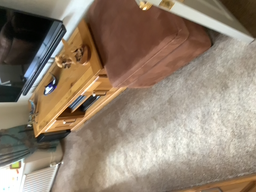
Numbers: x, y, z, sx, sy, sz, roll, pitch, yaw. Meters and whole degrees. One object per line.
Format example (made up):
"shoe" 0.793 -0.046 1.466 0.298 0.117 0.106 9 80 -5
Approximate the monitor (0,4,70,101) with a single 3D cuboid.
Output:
"monitor" -1.070 -0.240 1.670 1.210 0.760 0.060 -36 67 40

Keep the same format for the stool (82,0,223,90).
"stool" 0.120 -0.480 1.450 0.630 0.460 0.650 -37 67 40

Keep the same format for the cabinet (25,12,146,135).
"cabinet" -0.520 -0.110 2.100 1.340 0.480 0.500 -36 67 40
